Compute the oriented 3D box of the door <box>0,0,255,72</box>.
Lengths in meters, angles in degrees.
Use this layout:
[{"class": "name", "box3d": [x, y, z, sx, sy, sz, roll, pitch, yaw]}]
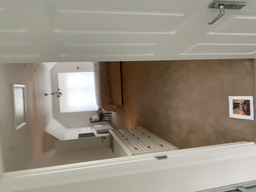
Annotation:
[{"class": "door", "box3d": [0.230, -0.310, 1.210, 0.850, 2.040, 0.040, 143, 123, -73]}]
